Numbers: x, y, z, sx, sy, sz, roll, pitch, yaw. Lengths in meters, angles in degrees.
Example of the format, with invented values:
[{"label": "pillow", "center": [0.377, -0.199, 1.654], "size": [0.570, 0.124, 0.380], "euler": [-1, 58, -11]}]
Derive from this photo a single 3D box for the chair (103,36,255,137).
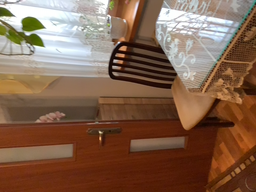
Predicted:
[{"label": "chair", "center": [0.360, -0.070, 1.660], "size": [0.400, 0.970, 0.600], "euler": [113, 151, -46]}]
